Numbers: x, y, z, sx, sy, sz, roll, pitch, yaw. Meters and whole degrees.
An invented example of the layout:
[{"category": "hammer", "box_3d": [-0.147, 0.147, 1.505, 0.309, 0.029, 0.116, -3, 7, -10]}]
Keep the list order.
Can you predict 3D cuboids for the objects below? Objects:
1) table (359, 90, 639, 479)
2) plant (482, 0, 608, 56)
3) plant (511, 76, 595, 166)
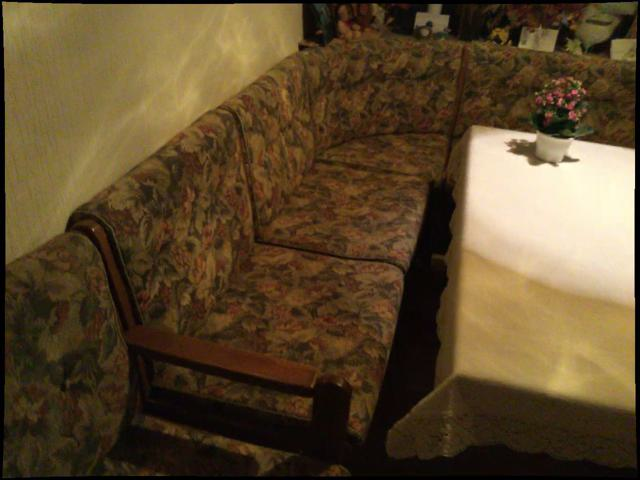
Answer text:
[{"category": "table", "box_3d": [0.769, 0.230, 1.700, 0.989, 0.751, 1.590, 12, 33, 12]}, {"category": "plant", "box_3d": [1.039, -1.081, 2.700, 0.480, 0.290, 0.330, 12, 33, 12]}, {"category": "plant", "box_3d": [0.729, -0.380, 1.830, 0.190, 0.210, 0.160, 12, 33, 12]}]
